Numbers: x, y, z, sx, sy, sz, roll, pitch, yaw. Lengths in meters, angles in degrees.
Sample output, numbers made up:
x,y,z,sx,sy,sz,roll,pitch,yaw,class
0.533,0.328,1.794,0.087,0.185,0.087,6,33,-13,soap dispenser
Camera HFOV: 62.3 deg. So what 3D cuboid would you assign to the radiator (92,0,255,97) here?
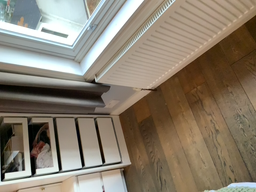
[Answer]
x,y,z,sx,sy,sz,roll,pitch,yaw,class
0.350,-0.320,1.260,1.190,0.610,0.060,-38,57,40,radiator
